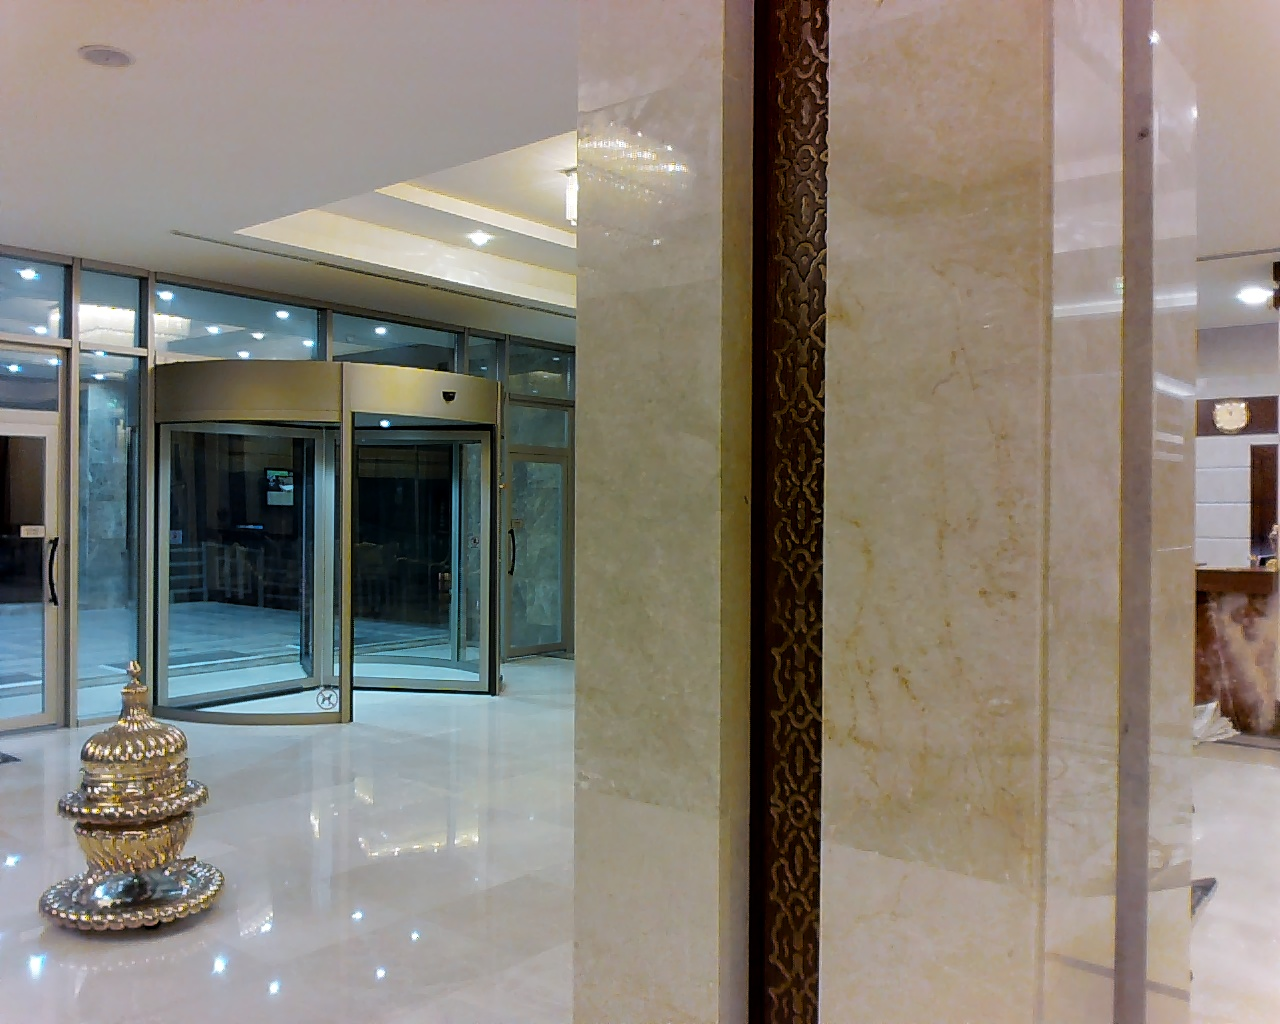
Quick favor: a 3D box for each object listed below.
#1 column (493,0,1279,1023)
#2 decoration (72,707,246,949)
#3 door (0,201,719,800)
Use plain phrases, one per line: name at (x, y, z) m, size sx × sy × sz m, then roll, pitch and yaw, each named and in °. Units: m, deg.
column at (0.540, -0.110, 2.030) m, size 1.140 × 3.281 × 1.150 m, roll 0°, pitch 0°, yaw 40°
decoration at (-1.859, 1.181, 4.150) m, size 0.600 × 0.730 × 0.390 m, roll 0°, pitch 0°, yaw 40°
door at (-1.909, -0.060, 8.720) m, size 1.660 × 3.201 × 6.389 m, roll 0°, pitch 0°, yaw 40°
